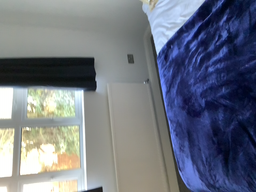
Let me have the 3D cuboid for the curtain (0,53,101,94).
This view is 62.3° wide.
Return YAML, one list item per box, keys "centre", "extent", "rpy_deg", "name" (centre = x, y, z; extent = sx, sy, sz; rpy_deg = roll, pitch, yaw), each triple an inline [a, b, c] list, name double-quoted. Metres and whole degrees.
- centre: [-1.050, -0.260, 2.560]
  extent: [0.220, 1.380, 0.400]
  rpy_deg: [127, 139, -61]
  name: "curtain"
